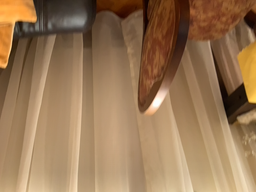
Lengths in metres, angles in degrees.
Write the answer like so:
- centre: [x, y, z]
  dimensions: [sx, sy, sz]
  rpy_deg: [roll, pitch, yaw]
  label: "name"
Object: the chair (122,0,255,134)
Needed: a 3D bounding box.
- centre: [0.270, -0.350, 0.830]
  dimensions: [0.500, 0.890, 0.410]
  rpy_deg: [1, 151, -10]
  label: "chair"
